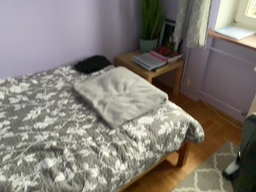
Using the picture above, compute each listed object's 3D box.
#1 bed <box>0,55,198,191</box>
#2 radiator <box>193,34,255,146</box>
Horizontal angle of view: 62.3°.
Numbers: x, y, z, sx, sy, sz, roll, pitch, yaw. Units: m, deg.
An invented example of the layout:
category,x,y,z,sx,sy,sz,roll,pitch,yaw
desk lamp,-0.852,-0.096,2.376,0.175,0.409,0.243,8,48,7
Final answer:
category,x,y,z,sx,sy,sz,roll,pitch,yaw
bed,-0.730,0.400,1.500,2.110,0.500,1.280,-23,42,-32
radiator,1.100,-0.080,2.050,0.280,0.800,0.750,-21,41,-30
